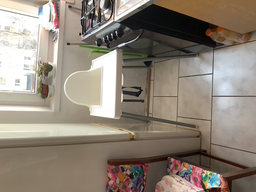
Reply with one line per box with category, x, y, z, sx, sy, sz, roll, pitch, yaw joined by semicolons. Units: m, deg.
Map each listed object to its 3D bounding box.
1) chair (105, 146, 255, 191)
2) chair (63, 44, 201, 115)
chair;0.330;0.580;1.160;0.480;0.780;0.450;0;87;59
chair;0.030;-0.070;1.630;0.560;0.880;0.390;0;87;59
